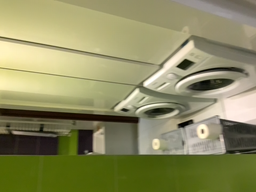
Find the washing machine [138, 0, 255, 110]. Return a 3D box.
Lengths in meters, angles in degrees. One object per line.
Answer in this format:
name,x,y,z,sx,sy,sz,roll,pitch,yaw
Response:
washing machine,0.630,-0.240,1.660,0.710,0.850,0.460,139,132,-59
